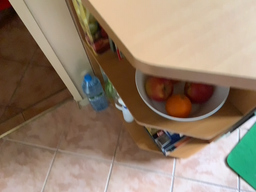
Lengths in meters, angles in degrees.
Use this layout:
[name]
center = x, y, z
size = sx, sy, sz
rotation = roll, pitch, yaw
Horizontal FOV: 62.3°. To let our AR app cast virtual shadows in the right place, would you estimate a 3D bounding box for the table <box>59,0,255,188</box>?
[table]
center = 0.100, -0.060, 0.760
size = 0.340, 0.870, 0.590
rotation = -30, 66, -11
